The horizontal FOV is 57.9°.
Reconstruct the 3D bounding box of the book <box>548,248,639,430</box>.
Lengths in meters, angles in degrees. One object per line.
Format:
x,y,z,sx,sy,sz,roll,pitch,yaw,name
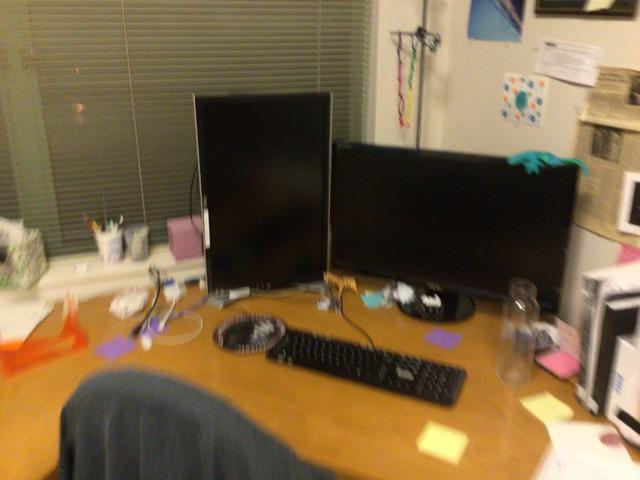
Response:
0.650,0.190,1.190,0.220,0.270,0.210,-7,20,-22,book
